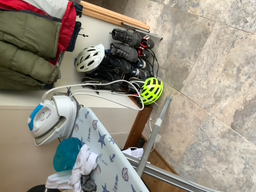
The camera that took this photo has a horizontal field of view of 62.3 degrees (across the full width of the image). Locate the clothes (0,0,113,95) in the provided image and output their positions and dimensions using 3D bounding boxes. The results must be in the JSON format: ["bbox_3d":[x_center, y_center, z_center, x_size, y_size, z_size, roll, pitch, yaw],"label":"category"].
[{"bbox_3d":[-0.760,-0.390,1.380,0.520,1.180,0.620,-20,73,49],"label":"clothes"}]
